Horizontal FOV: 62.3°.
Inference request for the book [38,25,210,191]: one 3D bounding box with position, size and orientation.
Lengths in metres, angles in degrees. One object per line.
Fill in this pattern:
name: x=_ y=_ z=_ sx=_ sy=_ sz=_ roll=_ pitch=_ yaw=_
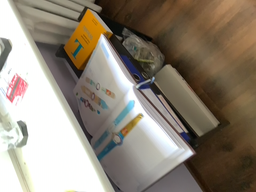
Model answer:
book: x=-0.050 y=0.070 z=0.660 sx=0.290 sy=0.150 sz=0.500 roll=-48 pitch=66 yaw=24
